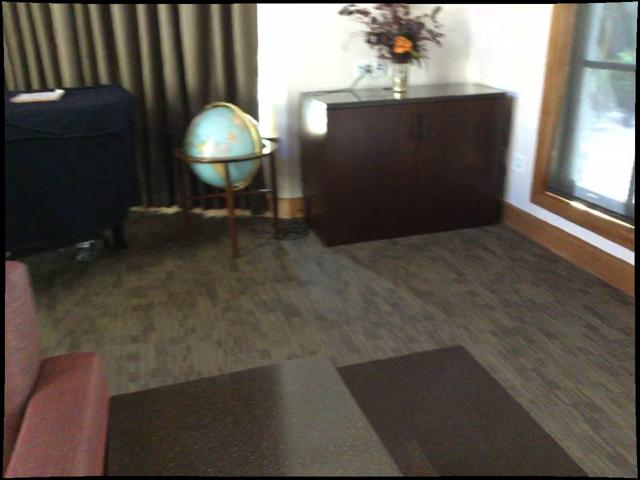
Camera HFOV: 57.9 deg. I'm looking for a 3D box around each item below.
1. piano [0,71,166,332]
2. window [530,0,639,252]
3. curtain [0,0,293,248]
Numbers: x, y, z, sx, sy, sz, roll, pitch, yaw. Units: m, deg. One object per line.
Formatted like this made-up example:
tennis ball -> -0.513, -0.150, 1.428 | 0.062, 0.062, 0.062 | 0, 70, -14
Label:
piano -> -1.808, -0.250, 2.890 | 1.838, 0.971, 1.420 | -8, 20, -15
window -> 1.518, -0.941, 2.650 | 0.240, 1.942, 1.260 | -8, 20, -15
curtain -> -2.338, -0.901, 3.670 | 4.166, 1.832, 0.710 | -8, 20, -15
